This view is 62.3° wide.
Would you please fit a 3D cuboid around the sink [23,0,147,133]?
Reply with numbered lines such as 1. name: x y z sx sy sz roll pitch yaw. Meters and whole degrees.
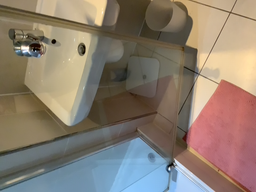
1. sink: -0.260 -0.230 1.030 0.480 0.200 0.620 37 117 30
